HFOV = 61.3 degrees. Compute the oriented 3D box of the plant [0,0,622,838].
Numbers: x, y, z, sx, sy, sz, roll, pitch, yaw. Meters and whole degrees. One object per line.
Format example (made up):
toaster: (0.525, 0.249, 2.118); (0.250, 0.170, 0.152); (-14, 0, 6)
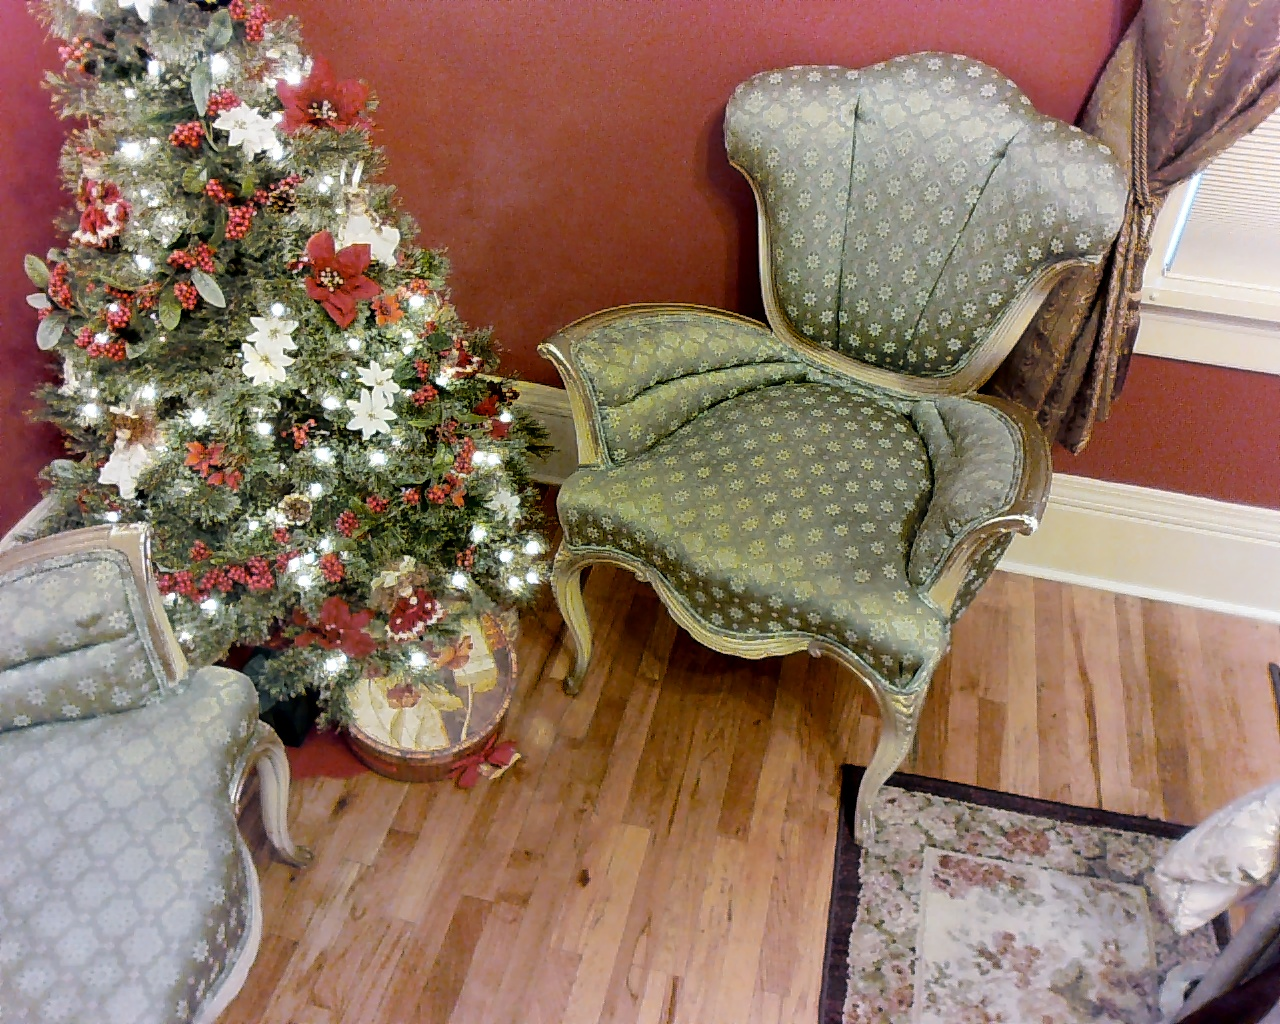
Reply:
plant: (-0.540, -0.320, 1.650); (0.760, 1.360, 0.680); (29, 49, 28)
